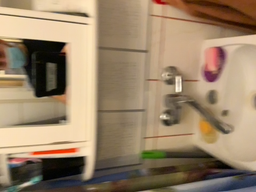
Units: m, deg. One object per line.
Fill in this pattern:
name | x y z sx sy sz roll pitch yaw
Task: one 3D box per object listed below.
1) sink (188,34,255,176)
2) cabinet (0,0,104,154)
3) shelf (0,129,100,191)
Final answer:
sink | 0.390 0.010 0.730 0.260 0.190 0.400 -154 66 -66
cabinet | -0.360 -0.040 0.450 0.150 0.590 0.300 -160 71 -67
shelf | -0.370 0.190 0.470 0.150 0.590 0.160 -160 71 -67
